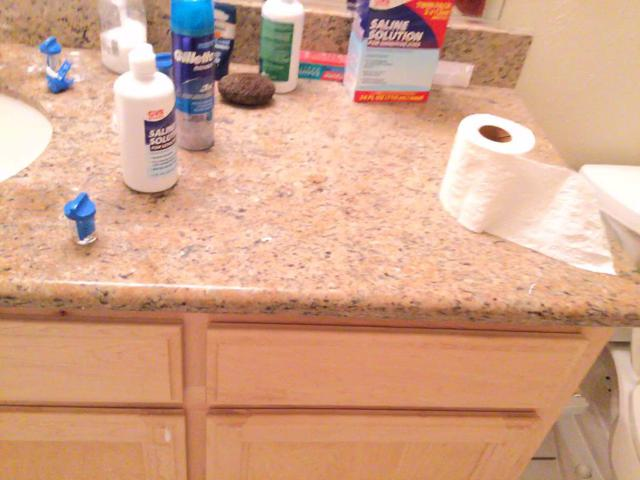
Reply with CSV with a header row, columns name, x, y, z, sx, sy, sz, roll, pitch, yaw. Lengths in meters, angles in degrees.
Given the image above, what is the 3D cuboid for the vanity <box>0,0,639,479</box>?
name,x,y,z,sx,sy,sz,roll,pitch,yaw
vanity,-0.350,0.110,0.950,1.380,0.890,0.550,4,37,-6
